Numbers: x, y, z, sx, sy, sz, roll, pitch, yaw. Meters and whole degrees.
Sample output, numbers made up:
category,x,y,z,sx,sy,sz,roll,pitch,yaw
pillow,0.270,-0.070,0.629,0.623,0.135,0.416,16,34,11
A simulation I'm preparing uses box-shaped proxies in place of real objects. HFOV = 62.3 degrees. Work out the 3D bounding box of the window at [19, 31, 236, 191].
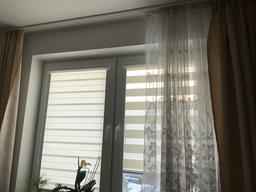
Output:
category,x,y,z,sx,sy,sz,roll,pitch,yaw
window,-0.080,0.290,1.900,1.800,1.510,0.260,-2,-12,18

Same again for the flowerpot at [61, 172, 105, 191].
category,x,y,z,sx,sy,sz,roll,pitch,yaw
flowerpot,-0.380,0.840,1.800,0.280,0.310,0.230,-2,-12,20
